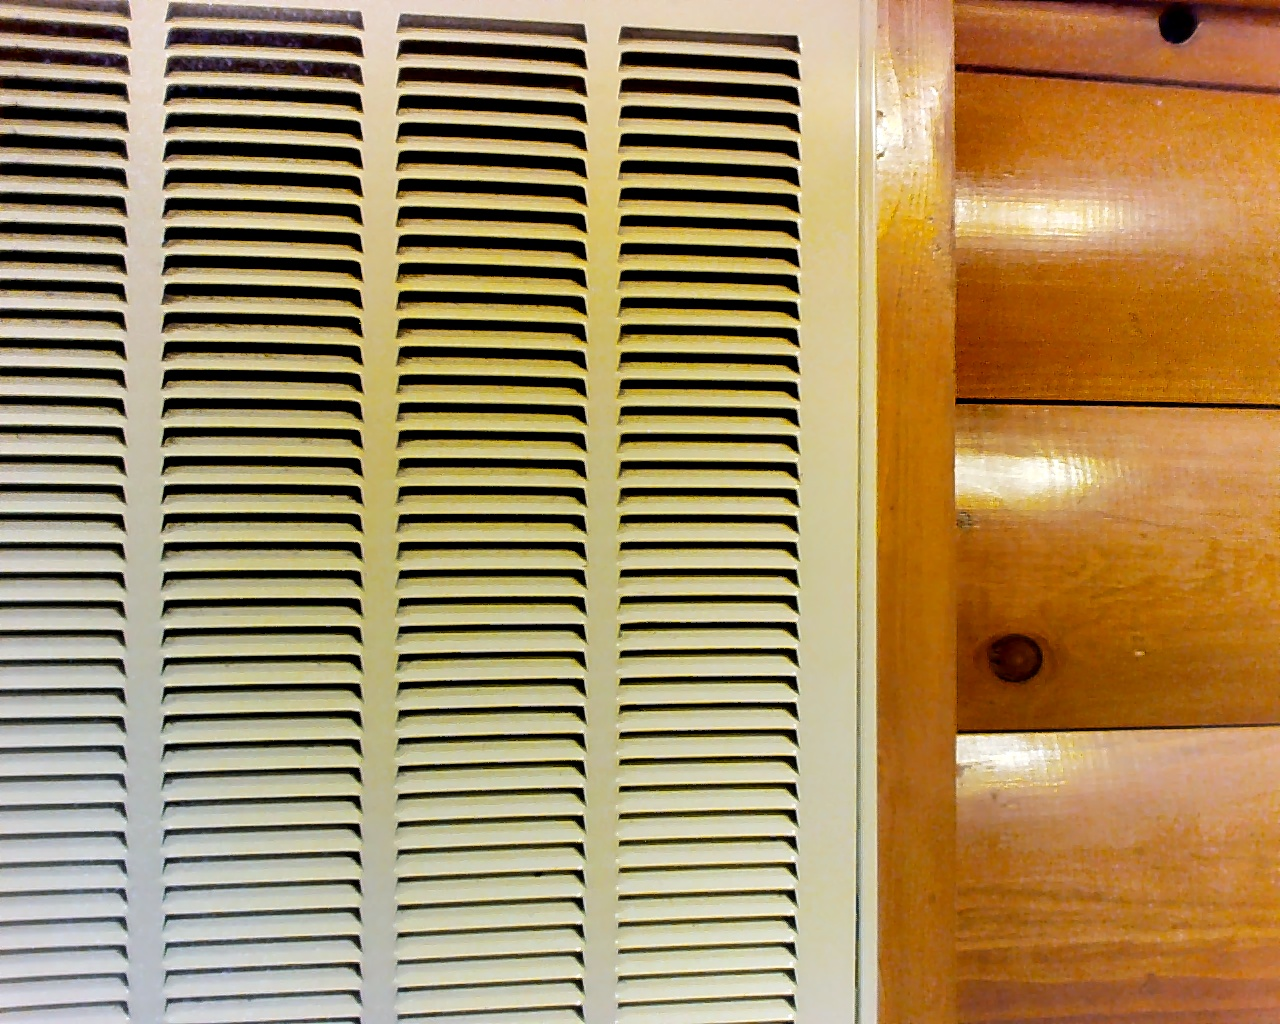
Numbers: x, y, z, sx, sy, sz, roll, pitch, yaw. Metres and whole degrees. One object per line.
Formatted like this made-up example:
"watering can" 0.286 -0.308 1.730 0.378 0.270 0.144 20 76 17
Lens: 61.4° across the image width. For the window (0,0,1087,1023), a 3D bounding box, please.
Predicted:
"window" -0.330 0.030 0.480 1.050 0.630 0.110 0 0 -6
